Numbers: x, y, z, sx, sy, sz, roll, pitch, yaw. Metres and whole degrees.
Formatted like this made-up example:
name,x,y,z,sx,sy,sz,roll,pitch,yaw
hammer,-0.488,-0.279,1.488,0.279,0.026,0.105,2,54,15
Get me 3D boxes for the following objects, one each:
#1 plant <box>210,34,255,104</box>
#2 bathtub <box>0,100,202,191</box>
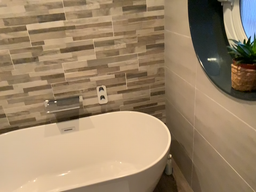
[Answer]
name,x,y,z,sx,sy,sz,roll,pitch,yaw
plant,0.570,-0.140,1.060,0.220,0.280,0.170,-9,26,-8
bathtub,-0.400,0.590,1.580,1.580,0.560,0.800,-10,26,-10
